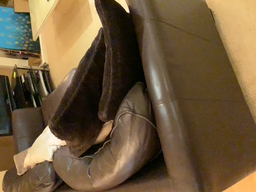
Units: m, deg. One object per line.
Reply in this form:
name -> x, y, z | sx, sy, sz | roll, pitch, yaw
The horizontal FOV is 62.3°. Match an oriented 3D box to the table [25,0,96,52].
table -> -0.940, -1.400, 2.660 | 0.870, 0.430, 1.360 | -31, 67, 44

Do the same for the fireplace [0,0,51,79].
fireplace -> -1.940, -0.950, 3.280 | 0.600, 1.130, 1.150 | -30, 67, 44
